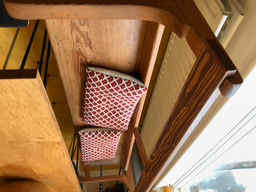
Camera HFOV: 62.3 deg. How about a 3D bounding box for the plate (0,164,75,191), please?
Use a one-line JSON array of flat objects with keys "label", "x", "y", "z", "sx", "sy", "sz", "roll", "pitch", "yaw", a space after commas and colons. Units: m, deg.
[{"label": "plate", "x": -0.540, "y": 0.540, "z": 1.160, "sx": 0.450, "sy": 0.200, "sz": 0.350, "roll": -2, "pitch": 146, "yaw": -8}]
